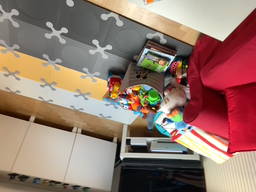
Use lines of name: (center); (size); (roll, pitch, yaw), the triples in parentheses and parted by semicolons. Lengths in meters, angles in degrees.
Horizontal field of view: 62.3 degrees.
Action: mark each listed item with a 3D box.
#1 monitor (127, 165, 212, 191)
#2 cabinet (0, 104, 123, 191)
monitor: (0.440, 1.050, 2.310); (0.900, 0.550, 0.080); (-2, 143, 11)
cabinet: (-1.030, 0.760, 2.840); (1.800, 0.770, 0.480); (17, 143, -15)
